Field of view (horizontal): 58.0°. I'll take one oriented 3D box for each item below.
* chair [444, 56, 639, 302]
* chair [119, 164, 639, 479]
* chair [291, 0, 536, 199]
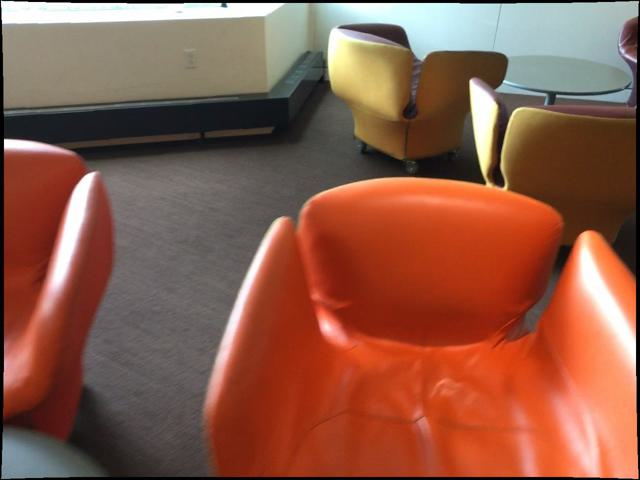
[{"bbox_3d":[1.008,-0.321,2.540,0.828,0.721,0.900,5,31,10],"label":"chair"},{"bbox_3d":[0.219,0.371,1.380,0.958,0.801,0.891,1,30,3],"label":"chair"},{"bbox_3d":[0.479,-0.902,3.420,0.889,0.781,1.070,-16,34,-24],"label":"chair"}]
